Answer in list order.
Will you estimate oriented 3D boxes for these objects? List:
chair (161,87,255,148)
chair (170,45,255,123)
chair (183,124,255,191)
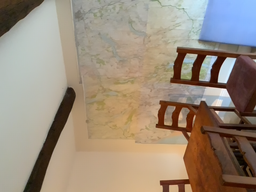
[{"bbox_3d":[0.990,0.250,2.530,0.500,1.070,0.470,-90,4,-54],"label":"chair"},{"bbox_3d":[1.020,-0.110,1.990,0.490,1.100,0.510,-90,4,-54],"label":"chair"},{"bbox_3d":[1.010,0.550,1.420,0.430,1.100,0.510,-91,4,-57],"label":"chair"}]
